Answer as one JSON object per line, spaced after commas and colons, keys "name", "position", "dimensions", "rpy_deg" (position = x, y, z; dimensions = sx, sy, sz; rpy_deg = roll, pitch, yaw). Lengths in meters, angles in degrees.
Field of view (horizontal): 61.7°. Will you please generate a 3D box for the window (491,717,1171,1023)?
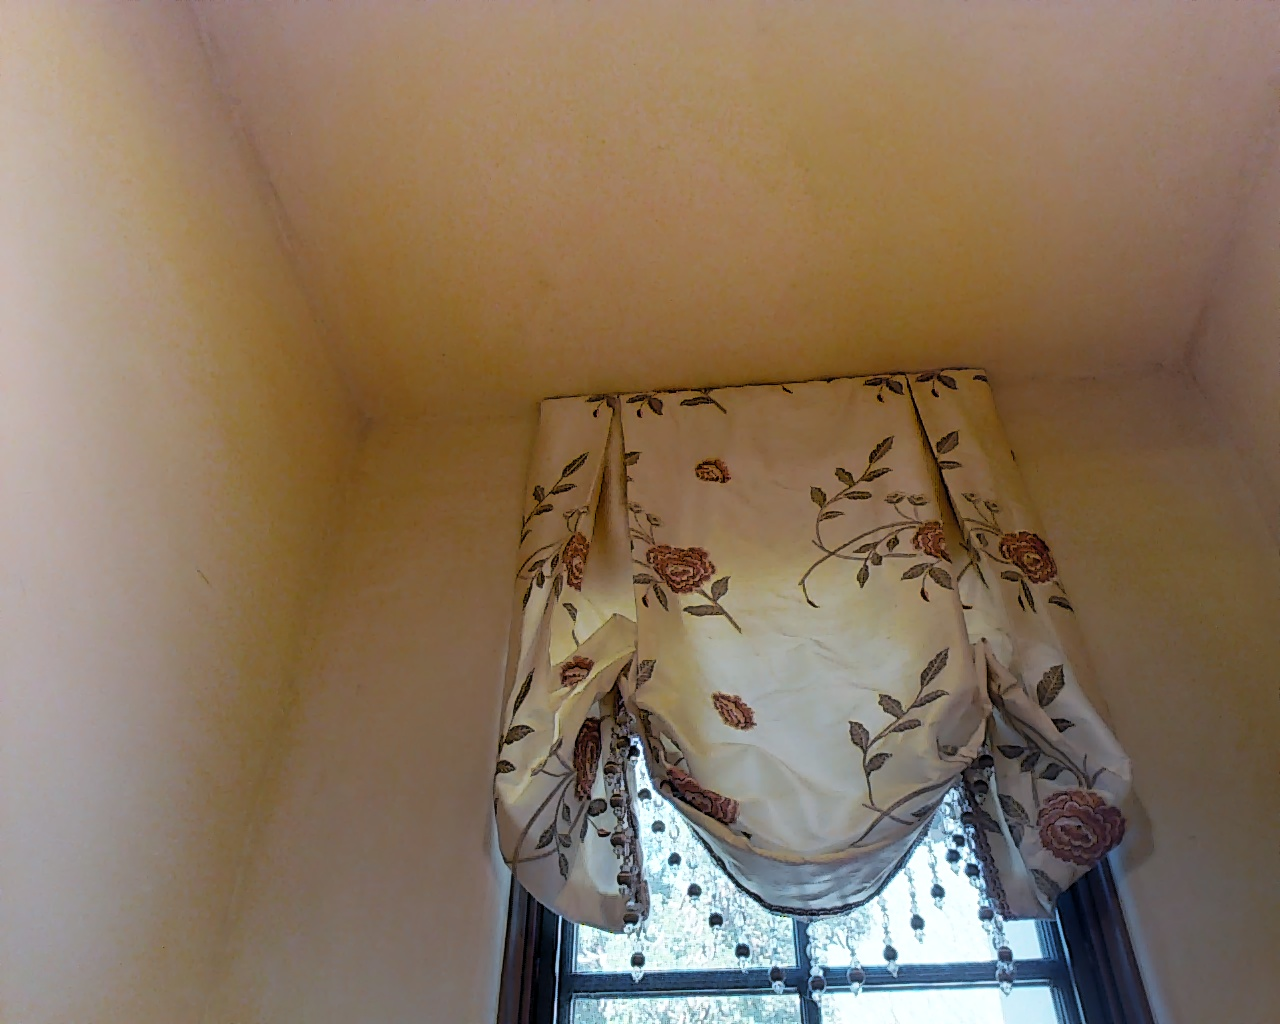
{"name": "window", "position": [0.170, 0.530, 1.000], "dimensions": [0.610, 0.660, 0.130], "rpy_deg": [-4, -42, 5]}
